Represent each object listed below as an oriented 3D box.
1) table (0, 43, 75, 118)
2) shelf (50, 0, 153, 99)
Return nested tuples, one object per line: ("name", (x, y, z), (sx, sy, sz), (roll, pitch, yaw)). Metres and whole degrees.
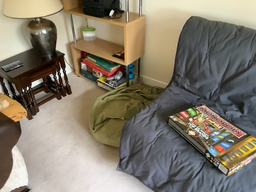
("table", (-0.860, -0.170, 2.010), (0.360, 0.420, 0.530), (23, 43, 27))
("shelf", (-0.260, -0.960, 1.930), (0.850, 1.800, 0.480), (25, 43, 28))
